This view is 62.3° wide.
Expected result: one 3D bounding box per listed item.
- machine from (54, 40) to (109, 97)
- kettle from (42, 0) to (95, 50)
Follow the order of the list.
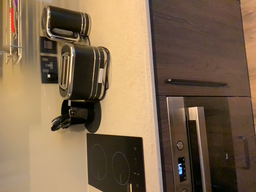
[{"bbox_3d":[-0.240,-0.130,1.080,0.220,0.190,0.250,9,97,54],"label":"machine"},{"bbox_3d":[-0.340,-0.400,1.210,0.160,0.240,0.200,-11,81,53],"label":"kettle"}]
